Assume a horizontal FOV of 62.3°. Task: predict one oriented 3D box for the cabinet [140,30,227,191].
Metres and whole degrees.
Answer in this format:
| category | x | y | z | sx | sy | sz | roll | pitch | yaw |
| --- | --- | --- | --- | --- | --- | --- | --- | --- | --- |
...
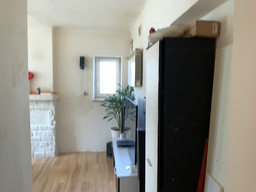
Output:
| category | x | y | z | sx | sy | sz | roll | pitch | yaw |
| --- | --- | --- | --- | --- | --- | --- | --- | --- | --- |
| cabinet | 0.350 | 0.530 | 1.640 | 0.390 | 1.890 | 0.550 | 2 | 5 | -8 |
